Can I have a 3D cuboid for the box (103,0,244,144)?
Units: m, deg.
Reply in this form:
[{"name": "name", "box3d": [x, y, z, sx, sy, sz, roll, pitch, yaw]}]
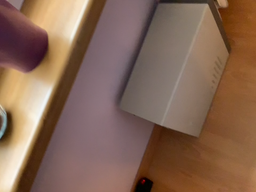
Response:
[{"name": "box", "box3d": [0.230, -0.110, 0.920, 0.290, 0.440, 0.520, 22, 88, 36]}]
